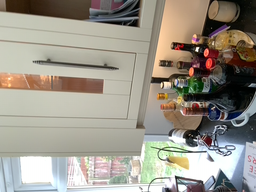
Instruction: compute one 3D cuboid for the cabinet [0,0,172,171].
[{"bbox_3d":[-0.350,-0.060,0.750,0.360,0.830,0.500,-112,28,-62],"label":"cabinet"}]
